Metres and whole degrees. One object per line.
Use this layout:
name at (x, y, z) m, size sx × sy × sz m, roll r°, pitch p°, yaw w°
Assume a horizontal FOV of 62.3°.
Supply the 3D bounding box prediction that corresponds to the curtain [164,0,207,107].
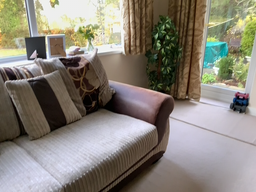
curtain at (0.730, -0.970, 2.630) m, size 0.180 × 2.230 × 0.370 m, roll -18°, pitch 28°, yaw -41°
